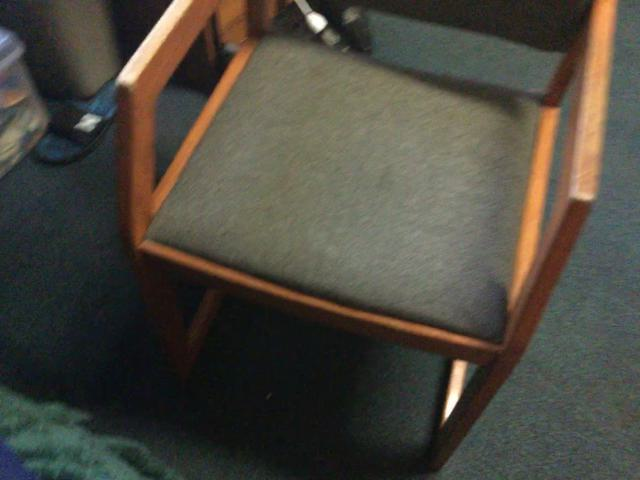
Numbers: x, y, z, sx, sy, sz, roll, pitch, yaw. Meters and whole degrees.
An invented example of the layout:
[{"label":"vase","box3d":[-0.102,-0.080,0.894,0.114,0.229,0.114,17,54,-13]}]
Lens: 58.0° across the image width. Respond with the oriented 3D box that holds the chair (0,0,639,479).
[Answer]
[{"label":"chair","box3d":[0.060,-0.120,0.890,0.680,0.770,0.760,31,64,18]}]
